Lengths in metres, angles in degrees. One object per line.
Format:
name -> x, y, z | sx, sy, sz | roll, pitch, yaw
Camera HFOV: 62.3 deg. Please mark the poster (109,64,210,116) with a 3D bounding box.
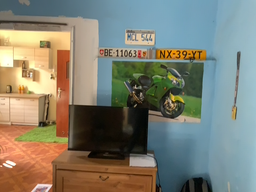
poster -> 0.310, -0.060, 2.140 | 0.970, 0.470, 0.080 | 3, 5, -1
